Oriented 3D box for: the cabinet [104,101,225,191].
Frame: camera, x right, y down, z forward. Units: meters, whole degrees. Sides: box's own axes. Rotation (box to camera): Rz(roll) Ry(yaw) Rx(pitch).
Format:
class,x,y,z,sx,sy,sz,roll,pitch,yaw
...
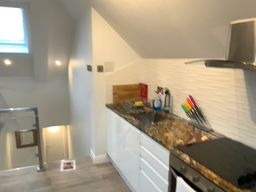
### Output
class,x,y,z,sx,sy,sz,roll,pitch,yaw
cabinet,0.250,0.670,2.510,0.590,0.880,1.580,-5,12,-24
